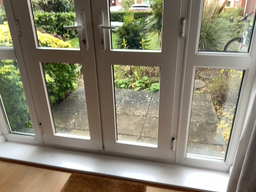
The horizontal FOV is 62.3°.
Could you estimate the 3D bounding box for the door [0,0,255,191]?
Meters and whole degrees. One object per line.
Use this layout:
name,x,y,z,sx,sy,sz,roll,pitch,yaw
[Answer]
door,-0.220,-0.400,1.380,2.020,2.550,0.100,5,26,14
